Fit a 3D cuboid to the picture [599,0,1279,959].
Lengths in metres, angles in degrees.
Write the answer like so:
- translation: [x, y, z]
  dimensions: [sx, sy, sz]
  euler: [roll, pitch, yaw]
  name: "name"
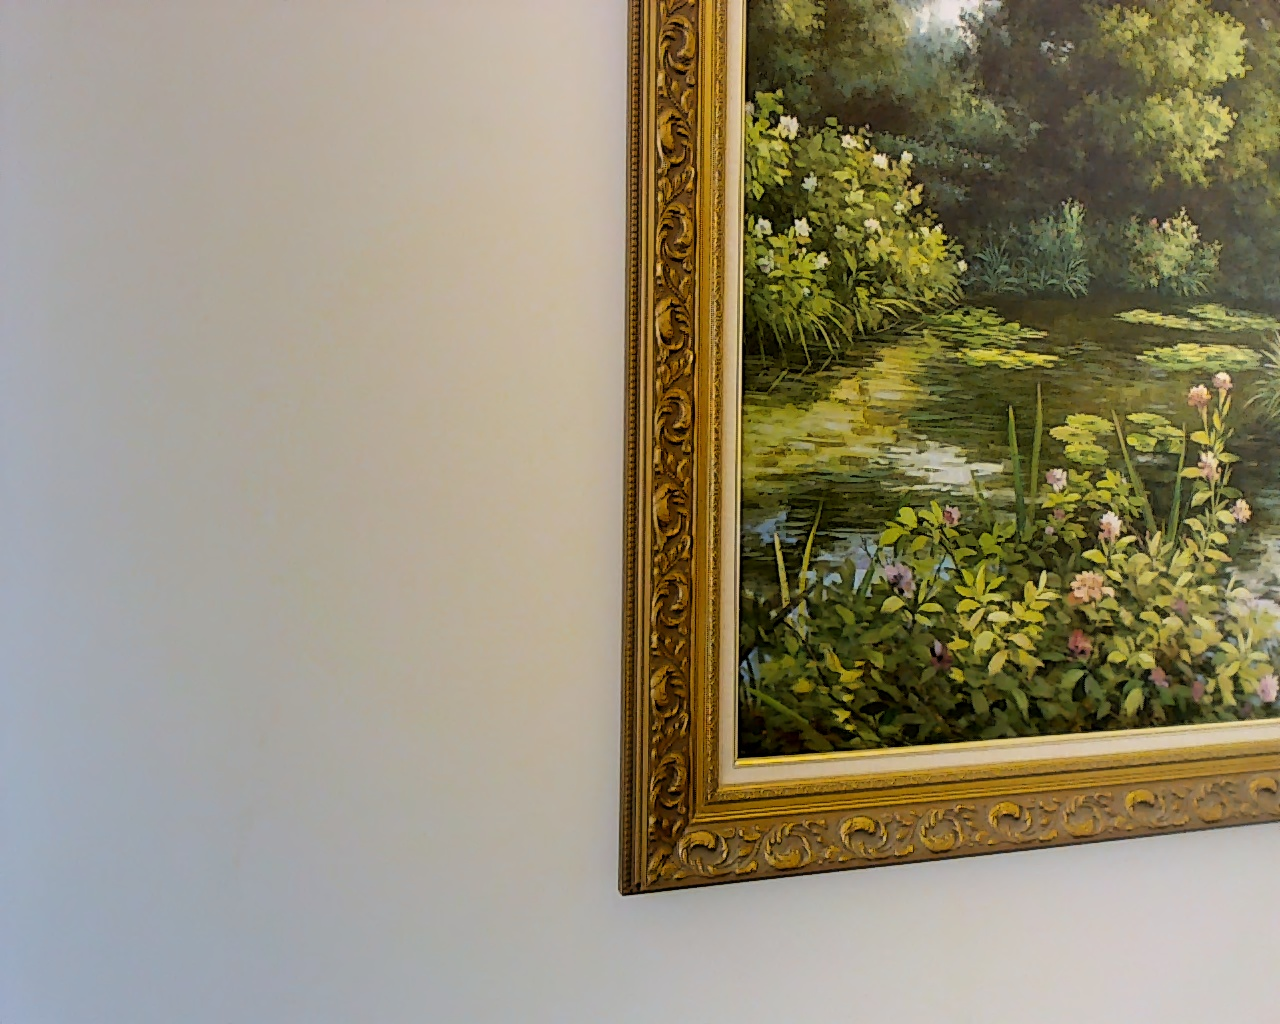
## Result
- translation: [0.670, -0.190, 1.140]
  dimensions: [1.420, 1.180, 0.070]
  euler: [1, 1, -16]
  name: "picture"
